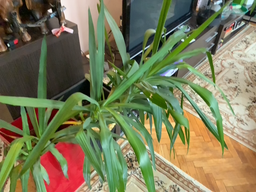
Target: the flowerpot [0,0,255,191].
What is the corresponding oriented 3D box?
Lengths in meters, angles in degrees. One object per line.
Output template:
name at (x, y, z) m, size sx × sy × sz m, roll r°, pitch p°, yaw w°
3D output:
flowerpot at (-0.120, 0.190, 0.970) m, size 0.790 × 1.220 × 0.690 m, roll 32°, pitch 50°, yaw 28°
